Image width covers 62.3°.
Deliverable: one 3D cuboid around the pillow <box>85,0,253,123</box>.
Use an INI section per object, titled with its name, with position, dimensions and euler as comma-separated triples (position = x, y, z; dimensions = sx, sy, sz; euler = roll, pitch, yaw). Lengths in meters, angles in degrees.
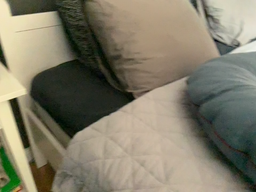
[pillow]
position = 0.160, -0.210, 0.870
dimensions = 0.570, 0.340, 0.290
euler = -24, 55, -34
